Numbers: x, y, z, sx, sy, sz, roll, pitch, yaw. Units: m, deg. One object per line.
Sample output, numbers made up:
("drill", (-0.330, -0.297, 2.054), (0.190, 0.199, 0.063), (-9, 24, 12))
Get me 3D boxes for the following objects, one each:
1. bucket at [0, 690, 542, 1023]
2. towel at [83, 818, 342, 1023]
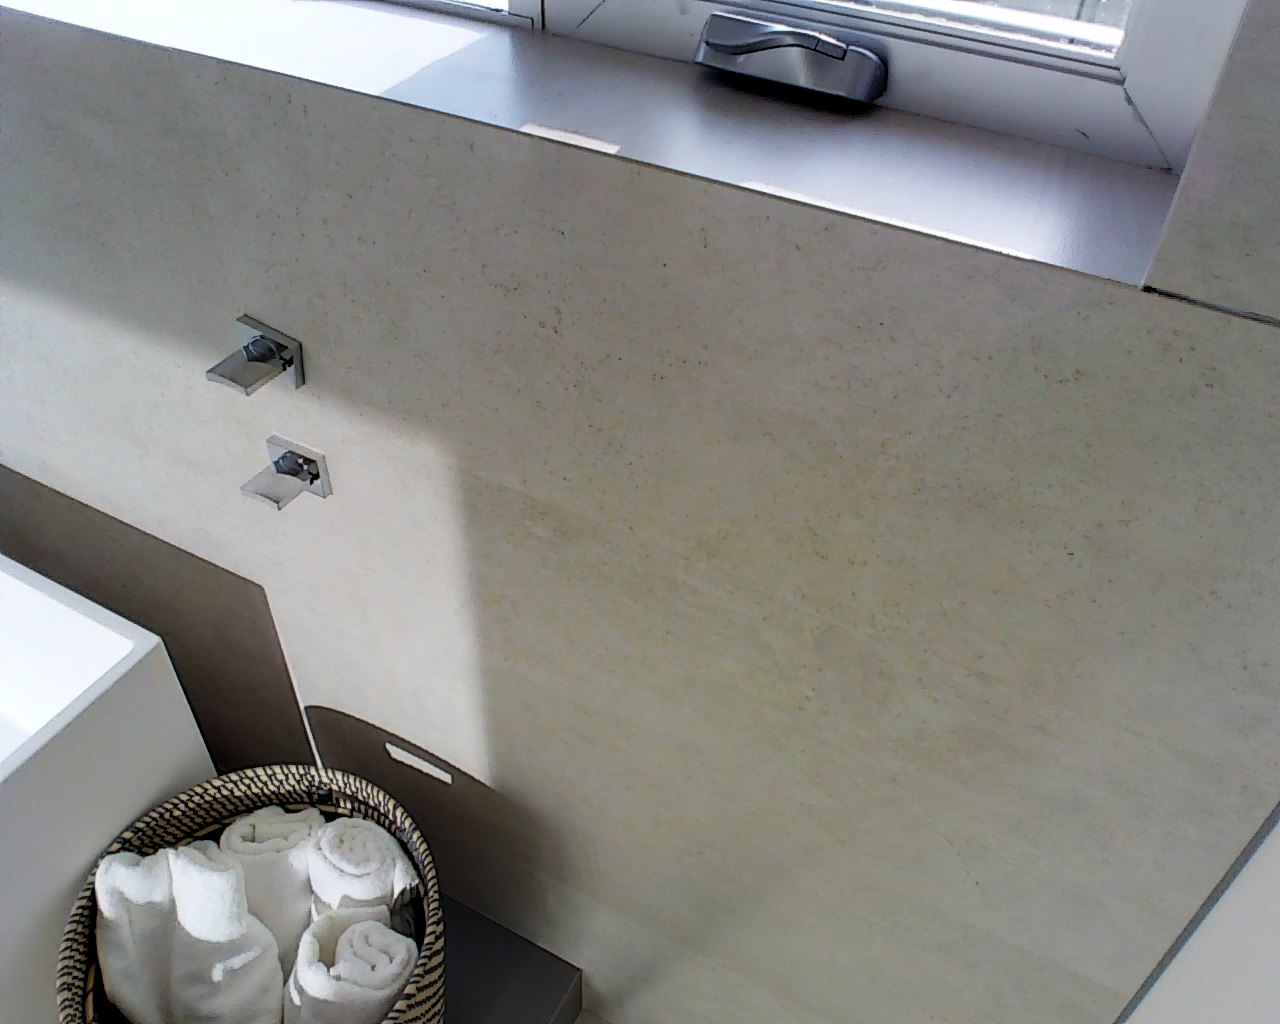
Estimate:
("bucket", (-0.400, 0.560, 1.250), (0.390, 0.420, 0.420), (21, 45, 20))
("towel", (-0.470, 0.510, 1.210), (0.190, 0.270, 0.130), (-21, 46, -23))
